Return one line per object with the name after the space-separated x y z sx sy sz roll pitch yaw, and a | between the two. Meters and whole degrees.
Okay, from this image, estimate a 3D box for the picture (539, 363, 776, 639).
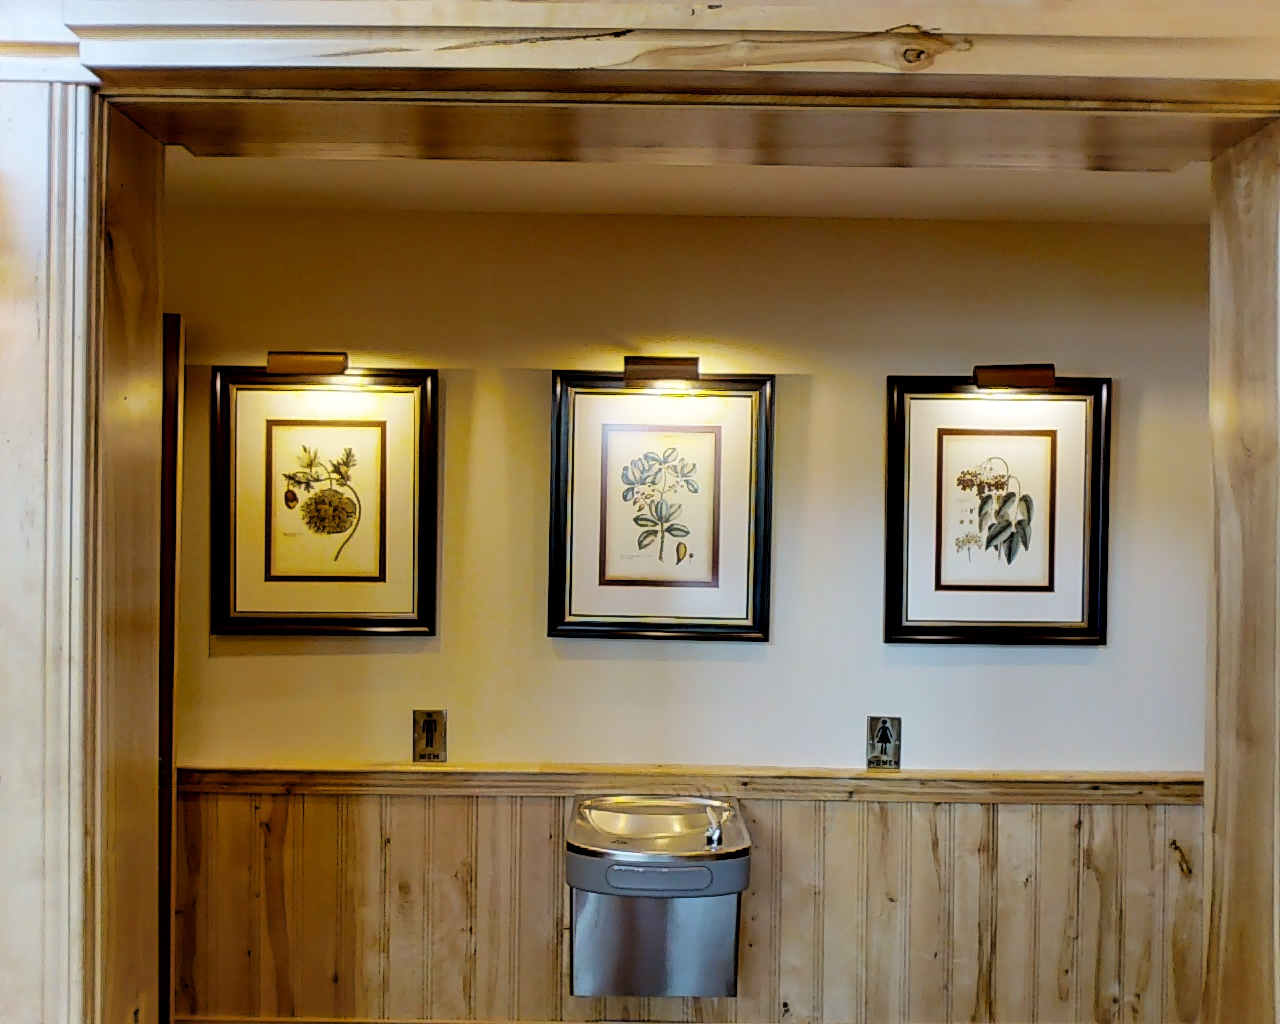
0.050 -0.030 3.040 0.650 0.760 0.060 1 0 -1 | picture

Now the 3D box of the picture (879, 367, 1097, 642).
0.990 -0.020 3.050 0.600 0.770 0.050 1 0 -1 | picture

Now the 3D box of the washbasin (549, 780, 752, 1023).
0.020 1.030 2.790 0.480 0.540 0.480 1 0 -1 | washbasin

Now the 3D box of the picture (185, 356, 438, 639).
-0.920 -0.040 3.020 0.680 0.780 0.070 1 0 -1 | picture
